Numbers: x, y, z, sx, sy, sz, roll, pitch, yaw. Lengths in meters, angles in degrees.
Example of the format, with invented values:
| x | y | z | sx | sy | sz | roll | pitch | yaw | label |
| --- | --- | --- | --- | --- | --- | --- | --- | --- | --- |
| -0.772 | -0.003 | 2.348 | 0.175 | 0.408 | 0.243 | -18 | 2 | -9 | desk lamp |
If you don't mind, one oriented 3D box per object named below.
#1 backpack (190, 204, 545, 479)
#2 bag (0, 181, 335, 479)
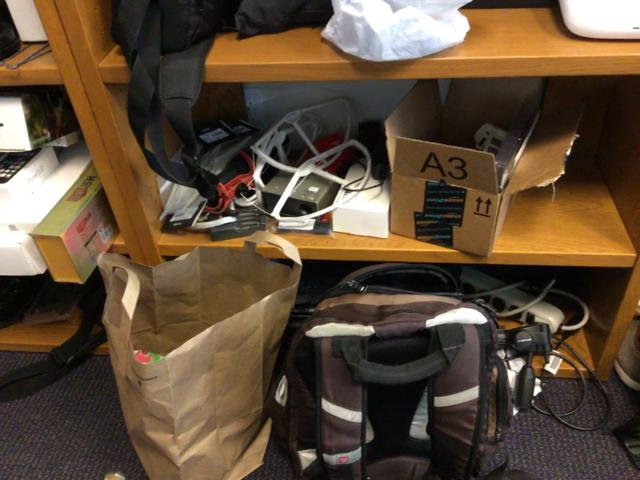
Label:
| x | y | z | sx | sy | sz | roll | pitch | yaw | label |
| --- | --- | --- | --- | --- | --- | --- | --- | --- | --- |
| 0.100 | 0.230 | 0.950 | 0.420 | 0.450 | 0.350 | -1 | 37 | 12 | backpack |
| -0.220 | 0.190 | 1.010 | 0.400 | 0.460 | 0.340 | -1 | 37 | 12 | bag |
